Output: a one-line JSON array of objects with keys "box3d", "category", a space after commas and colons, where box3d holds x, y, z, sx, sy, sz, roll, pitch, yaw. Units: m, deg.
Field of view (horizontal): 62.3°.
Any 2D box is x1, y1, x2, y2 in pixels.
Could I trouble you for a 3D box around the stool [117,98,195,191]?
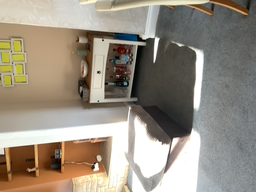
[{"box3d": [0.240, 0.550, 2.390, 0.800, 0.380, 0.770, -131, 46, -55], "category": "stool"}]
